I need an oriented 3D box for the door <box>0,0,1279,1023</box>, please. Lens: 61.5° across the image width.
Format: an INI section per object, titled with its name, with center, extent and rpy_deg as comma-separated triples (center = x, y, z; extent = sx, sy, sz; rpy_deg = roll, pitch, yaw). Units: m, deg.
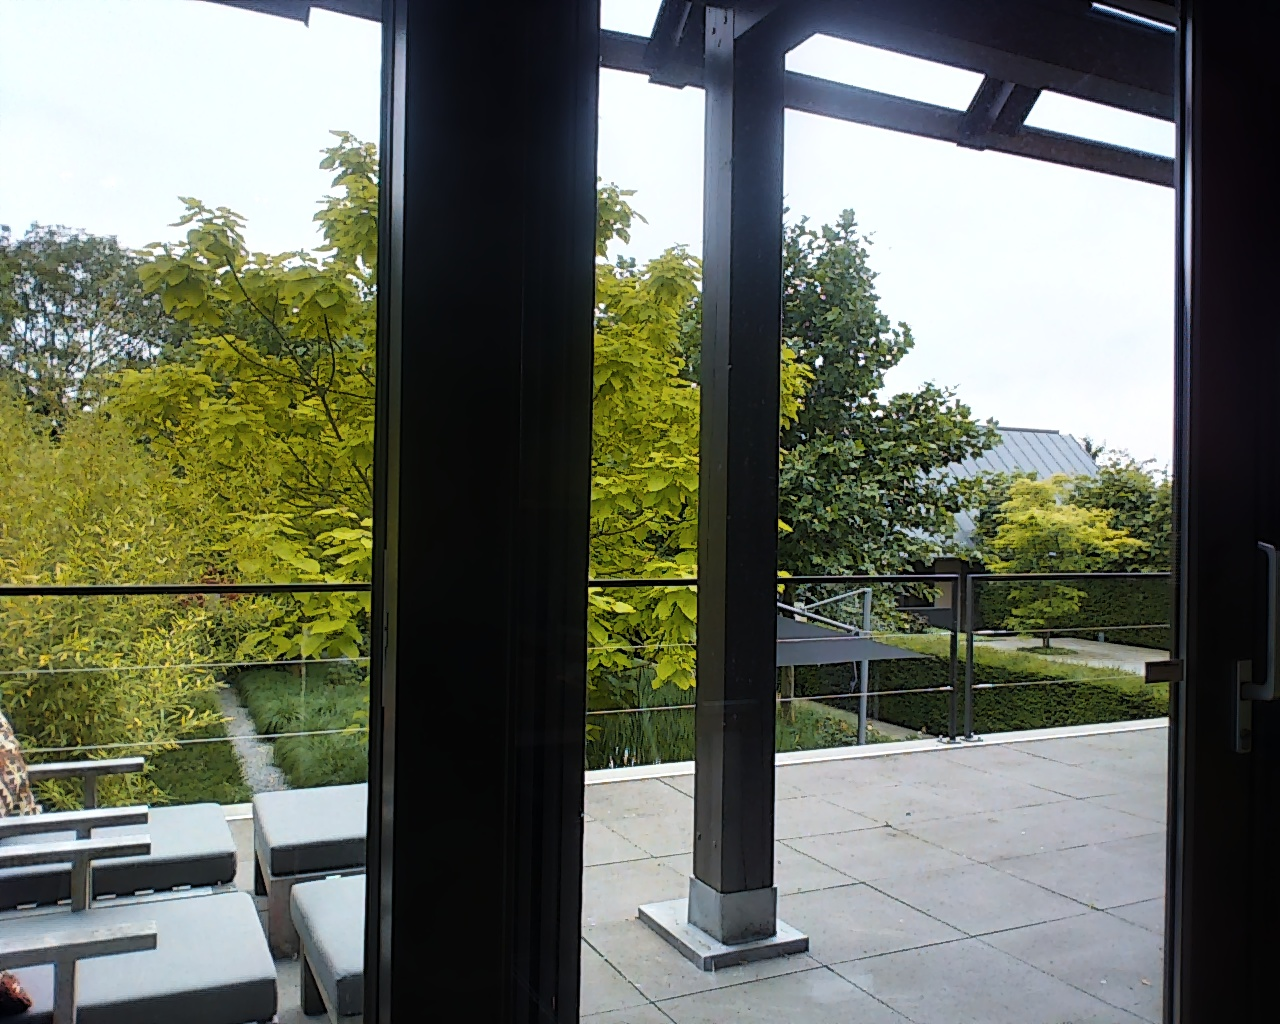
[door]
center = -0.180, 0.120, 1.240
extent = 2.930, 2.470, 0.220
rpy_deg = 1, -1, -25
